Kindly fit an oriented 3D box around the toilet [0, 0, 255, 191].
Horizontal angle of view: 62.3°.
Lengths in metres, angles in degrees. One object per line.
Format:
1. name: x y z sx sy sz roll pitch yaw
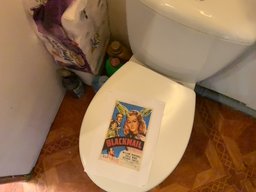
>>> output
1. toilet: 0.030 0.080 0.790 0.410 0.740 0.680 25 74 6
